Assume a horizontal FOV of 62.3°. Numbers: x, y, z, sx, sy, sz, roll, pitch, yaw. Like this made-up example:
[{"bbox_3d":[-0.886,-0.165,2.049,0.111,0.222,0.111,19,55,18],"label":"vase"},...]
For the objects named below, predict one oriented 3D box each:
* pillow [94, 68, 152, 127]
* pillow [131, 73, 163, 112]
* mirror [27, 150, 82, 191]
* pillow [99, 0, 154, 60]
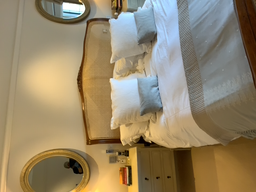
[{"bbox_3d":[-0.060,0.020,2.620,0.520,0.460,0.220,-49,0,-21],"label":"pillow"},{"bbox_3d":[0.210,-0.040,2.340,0.360,0.210,0.110,-66,7,-21],"label":"pillow"},{"bbox_3d":[-0.940,0.990,2.760,0.070,0.660,0.530,136,132,-69],"label":"mirror"},{"bbox_3d":[-0.020,-0.870,2.780,0.600,0.480,0.210,-64,5,-22],"label":"pillow"}]
